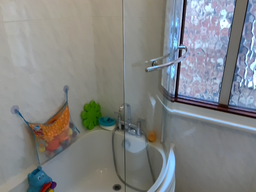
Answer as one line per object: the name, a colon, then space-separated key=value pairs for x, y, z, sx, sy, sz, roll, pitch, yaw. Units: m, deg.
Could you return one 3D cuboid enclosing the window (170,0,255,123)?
window: x=0.650 y=-0.580 z=1.180 sx=0.710 sy=1.510 sz=0.090 roll=12 pitch=26 yaw=27
